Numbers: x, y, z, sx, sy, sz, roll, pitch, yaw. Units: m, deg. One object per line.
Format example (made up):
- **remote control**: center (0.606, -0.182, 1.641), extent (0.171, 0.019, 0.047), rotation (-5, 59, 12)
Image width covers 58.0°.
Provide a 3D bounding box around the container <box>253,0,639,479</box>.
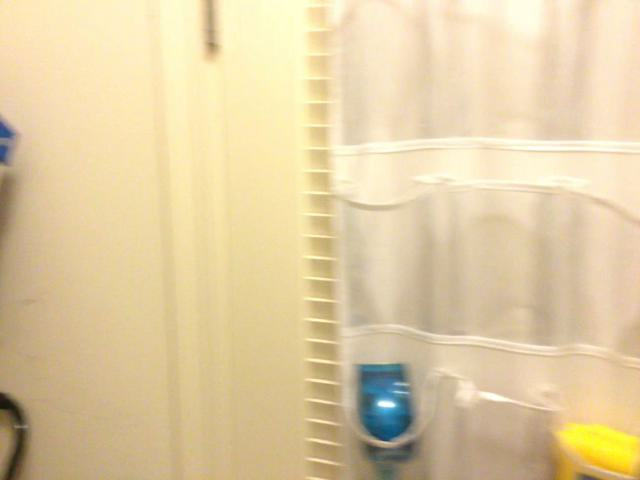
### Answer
- **container**: center (0.220, 0.310, 0.620), extent (0.550, 1.530, 0.170), rotation (3, 8, 18)
